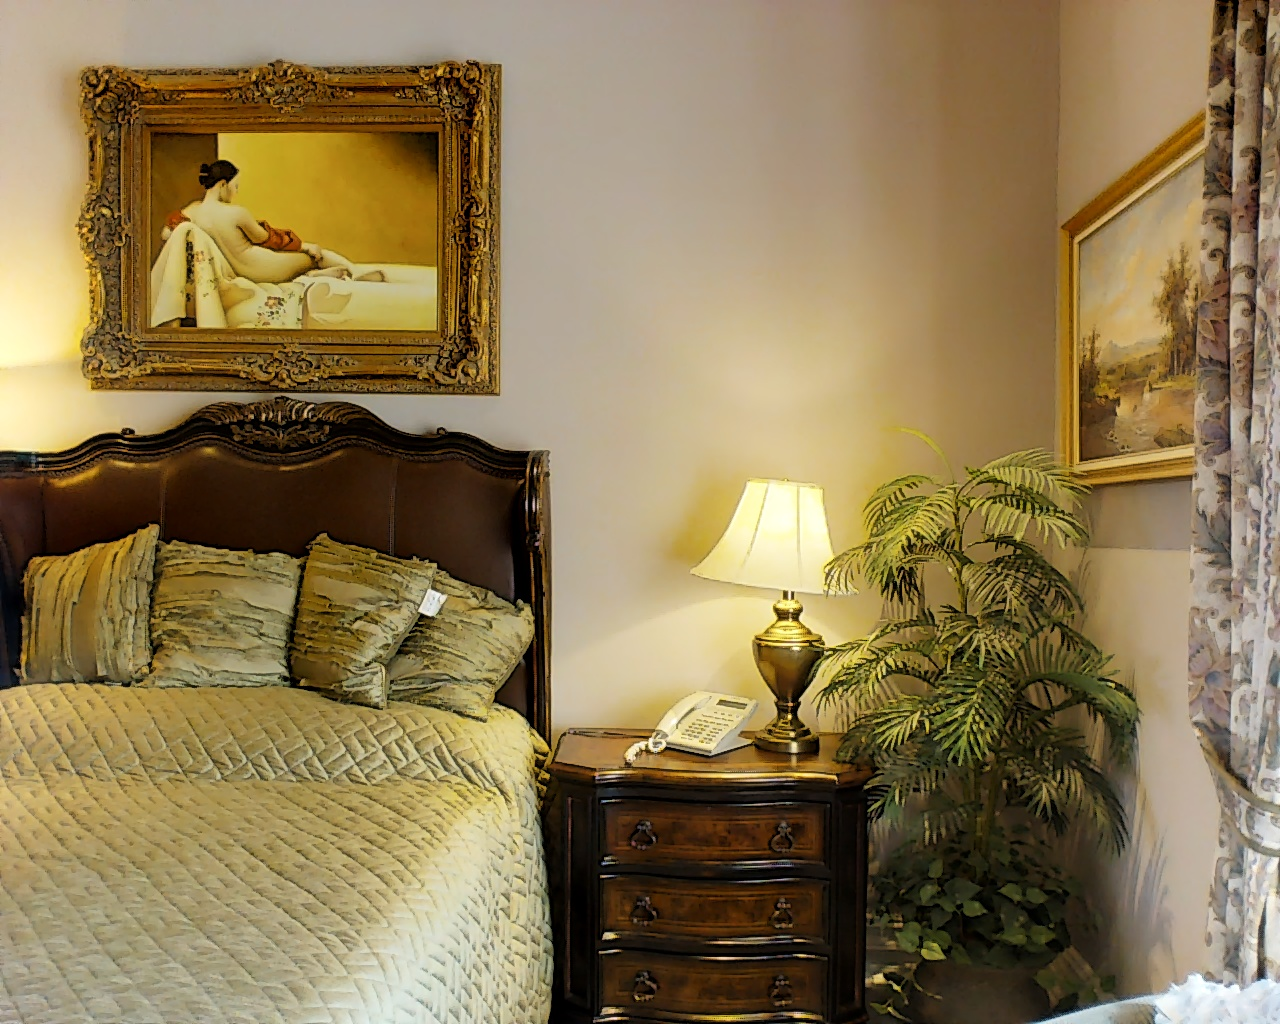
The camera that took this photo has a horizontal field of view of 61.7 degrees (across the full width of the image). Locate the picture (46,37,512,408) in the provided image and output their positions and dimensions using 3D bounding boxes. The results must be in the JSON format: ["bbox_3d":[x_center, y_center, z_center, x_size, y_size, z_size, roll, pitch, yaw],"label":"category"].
[{"bbox_3d":[-1.080,-0.850,3.240,1.350,1.050,0.210,0,0,5],"label":"picture"}]

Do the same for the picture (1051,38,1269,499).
[{"bbox_3d":[1.170,-0.460,2.520,0.080,0.840,1.050,0,0,4],"label":"picture"}]

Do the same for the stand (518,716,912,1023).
[{"bbox_3d":[0.200,1.000,2.930,0.970,0.760,0.540,0,0,5],"label":"stand"}]
